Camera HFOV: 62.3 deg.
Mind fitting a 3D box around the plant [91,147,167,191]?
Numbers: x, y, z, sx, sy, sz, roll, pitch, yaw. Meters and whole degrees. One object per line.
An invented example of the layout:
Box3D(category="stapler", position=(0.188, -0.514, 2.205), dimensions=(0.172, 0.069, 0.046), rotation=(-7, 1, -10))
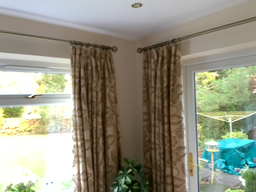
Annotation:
Box3D(category="plant", position=(0.010, 1.140, 2.040), dimensions=(0.510, 1.130, 0.510), rotation=(-1, 0, -38))
